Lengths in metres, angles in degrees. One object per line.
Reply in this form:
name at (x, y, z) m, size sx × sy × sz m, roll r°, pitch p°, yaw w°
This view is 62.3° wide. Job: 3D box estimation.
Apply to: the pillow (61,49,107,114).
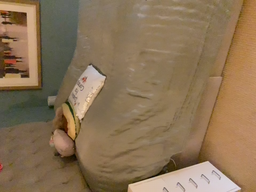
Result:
pillow at (-0.370, -0.120, 1.710) m, size 0.160 × 0.390 × 0.320 m, roll 26°, pitch -159°, yaw -31°
